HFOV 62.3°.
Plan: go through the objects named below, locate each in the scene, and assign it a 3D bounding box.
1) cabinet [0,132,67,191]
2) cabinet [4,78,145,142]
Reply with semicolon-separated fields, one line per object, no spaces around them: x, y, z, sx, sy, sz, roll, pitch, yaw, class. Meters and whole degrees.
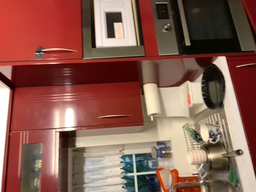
-0.570;0.820;1.300;0.300;0.320;1.130;103;163;-71;cabinet
-0.350;0.110;1.550;0.320;0.880;0.340;103;163;-71;cabinet
